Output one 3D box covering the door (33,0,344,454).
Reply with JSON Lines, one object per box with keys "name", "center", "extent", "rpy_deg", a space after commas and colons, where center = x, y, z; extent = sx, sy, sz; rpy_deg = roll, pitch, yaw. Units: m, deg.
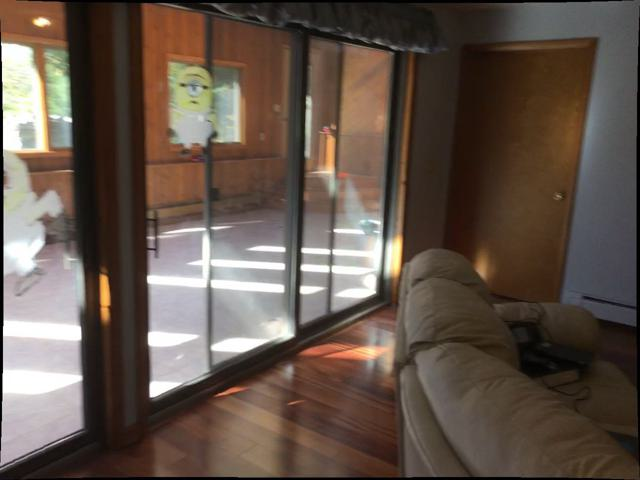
{"name": "door", "center": [-0.530, -0.390, 3.040], "extent": [0.480, 2.372, 1.610], "rpy_deg": [10, 16, 34]}
